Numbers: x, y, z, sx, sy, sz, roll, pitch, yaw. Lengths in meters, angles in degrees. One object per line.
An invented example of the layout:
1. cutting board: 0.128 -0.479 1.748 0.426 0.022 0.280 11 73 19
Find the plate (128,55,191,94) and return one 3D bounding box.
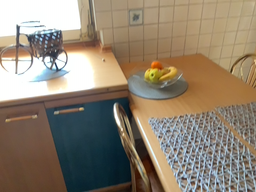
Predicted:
1. plate: 0.170 -0.140 1.270 0.280 0.080 0.320 -8 31 -10
